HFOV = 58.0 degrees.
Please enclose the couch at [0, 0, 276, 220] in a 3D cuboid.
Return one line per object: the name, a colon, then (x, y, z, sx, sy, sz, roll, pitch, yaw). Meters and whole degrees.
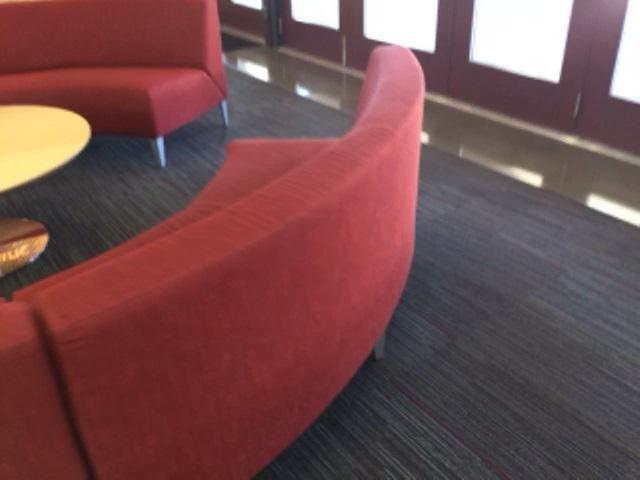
couch: (-1.870, -0.710, 2.850, 3.040, 0.800, 1.330, -24, 40, -31)
